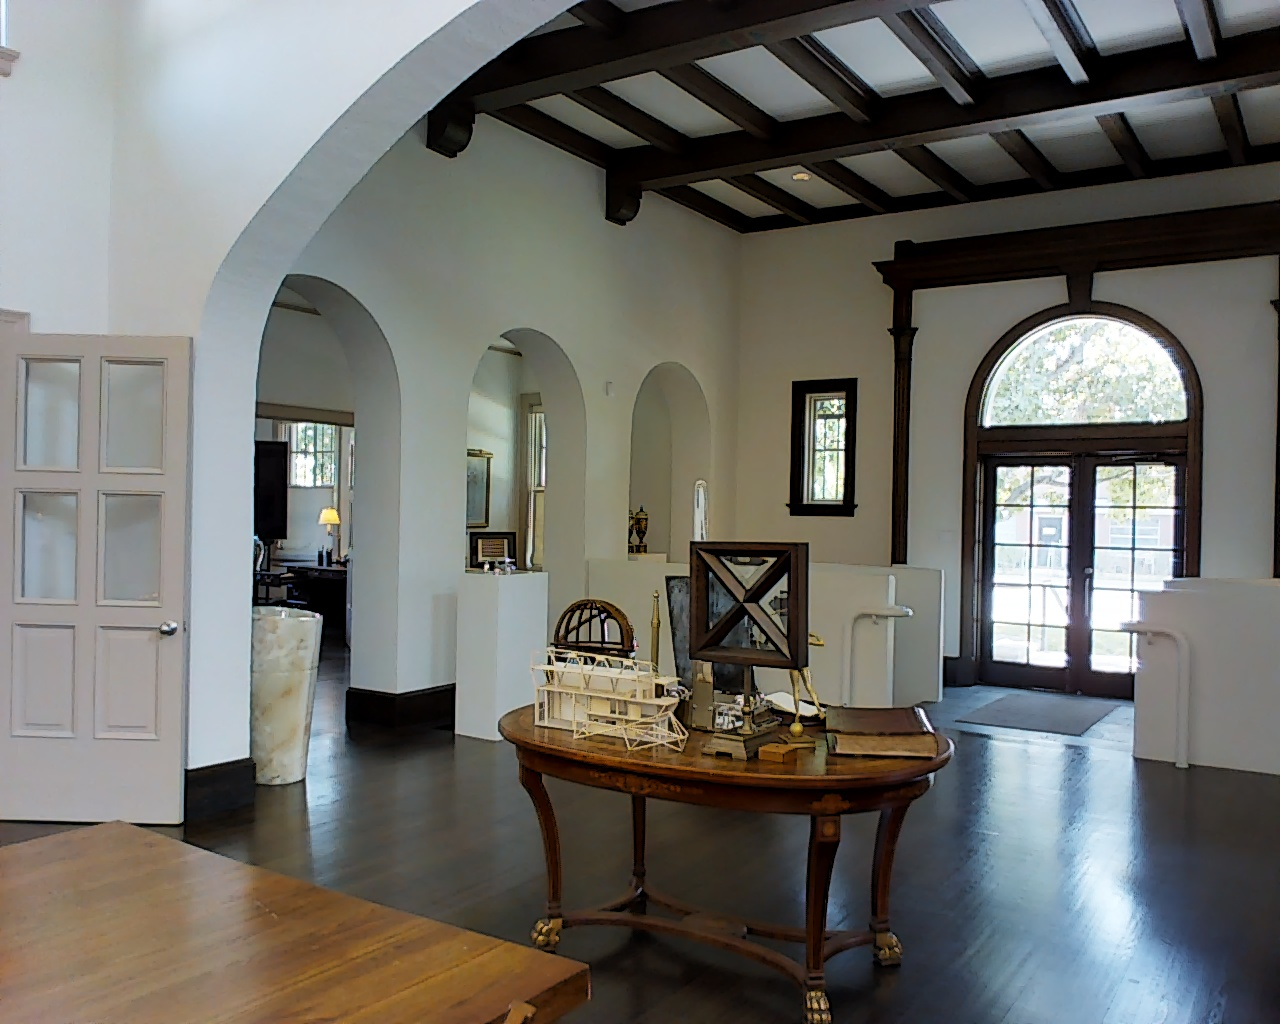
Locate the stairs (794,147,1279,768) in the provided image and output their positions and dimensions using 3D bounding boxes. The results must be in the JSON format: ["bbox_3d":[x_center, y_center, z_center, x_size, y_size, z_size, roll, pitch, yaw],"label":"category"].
[{"bbox_3d":[3.460,-0.340,8.150,3.600,3.630,2.830,1,1,33],"label":"stairs"}]

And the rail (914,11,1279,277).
[{"bbox_3d":[3.190,-2.350,6.970,2.790,1.330,0.210,1,1,33],"label":"rail"}]
